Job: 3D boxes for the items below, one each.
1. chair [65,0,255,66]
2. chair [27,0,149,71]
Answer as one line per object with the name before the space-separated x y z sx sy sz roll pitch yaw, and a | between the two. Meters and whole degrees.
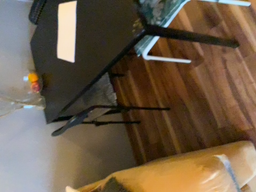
chair | 0.160 -0.500 1.120 0.500 0.750 0.450 -47 59 42
chair | -0.310 -0.500 1.680 0.450 0.750 0.440 -34 68 47
